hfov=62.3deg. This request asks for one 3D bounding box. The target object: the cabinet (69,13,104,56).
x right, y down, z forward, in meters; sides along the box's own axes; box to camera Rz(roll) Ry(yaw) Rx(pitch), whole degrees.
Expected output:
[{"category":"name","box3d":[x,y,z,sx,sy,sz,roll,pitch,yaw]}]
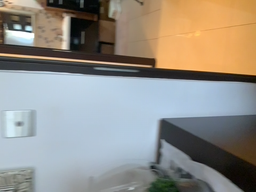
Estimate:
[{"category":"cabinet","box3d":[-0.730,-1.030,3.670,0.330,0.500,0.630,-156,69,-64]}]
